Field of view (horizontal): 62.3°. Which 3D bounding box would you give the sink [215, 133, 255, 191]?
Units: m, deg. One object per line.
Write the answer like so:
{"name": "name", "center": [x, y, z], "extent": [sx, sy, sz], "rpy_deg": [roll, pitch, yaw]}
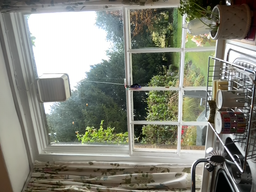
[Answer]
{"name": "sink", "center": [0.540, 0.330, 0.920], "extent": [0.430, 0.170, 0.140], "rpy_deg": [-77, -14, -70]}
